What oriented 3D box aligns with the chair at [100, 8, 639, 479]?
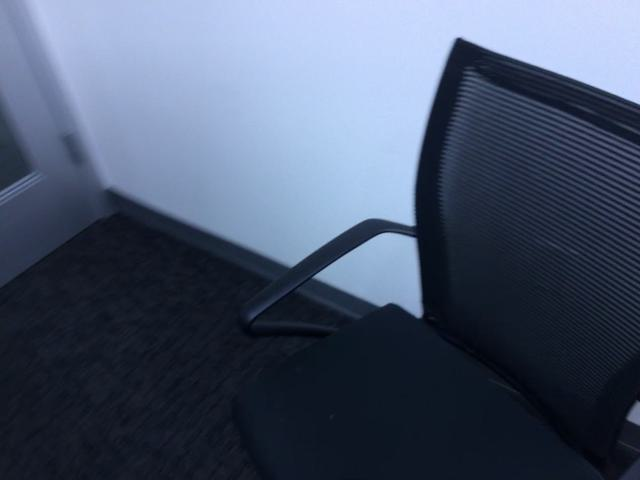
[{"bbox_3d":[0.170,0.260,0.910,0.540,0.950,0.630,-28,46,-27],"label":"chair"}]
